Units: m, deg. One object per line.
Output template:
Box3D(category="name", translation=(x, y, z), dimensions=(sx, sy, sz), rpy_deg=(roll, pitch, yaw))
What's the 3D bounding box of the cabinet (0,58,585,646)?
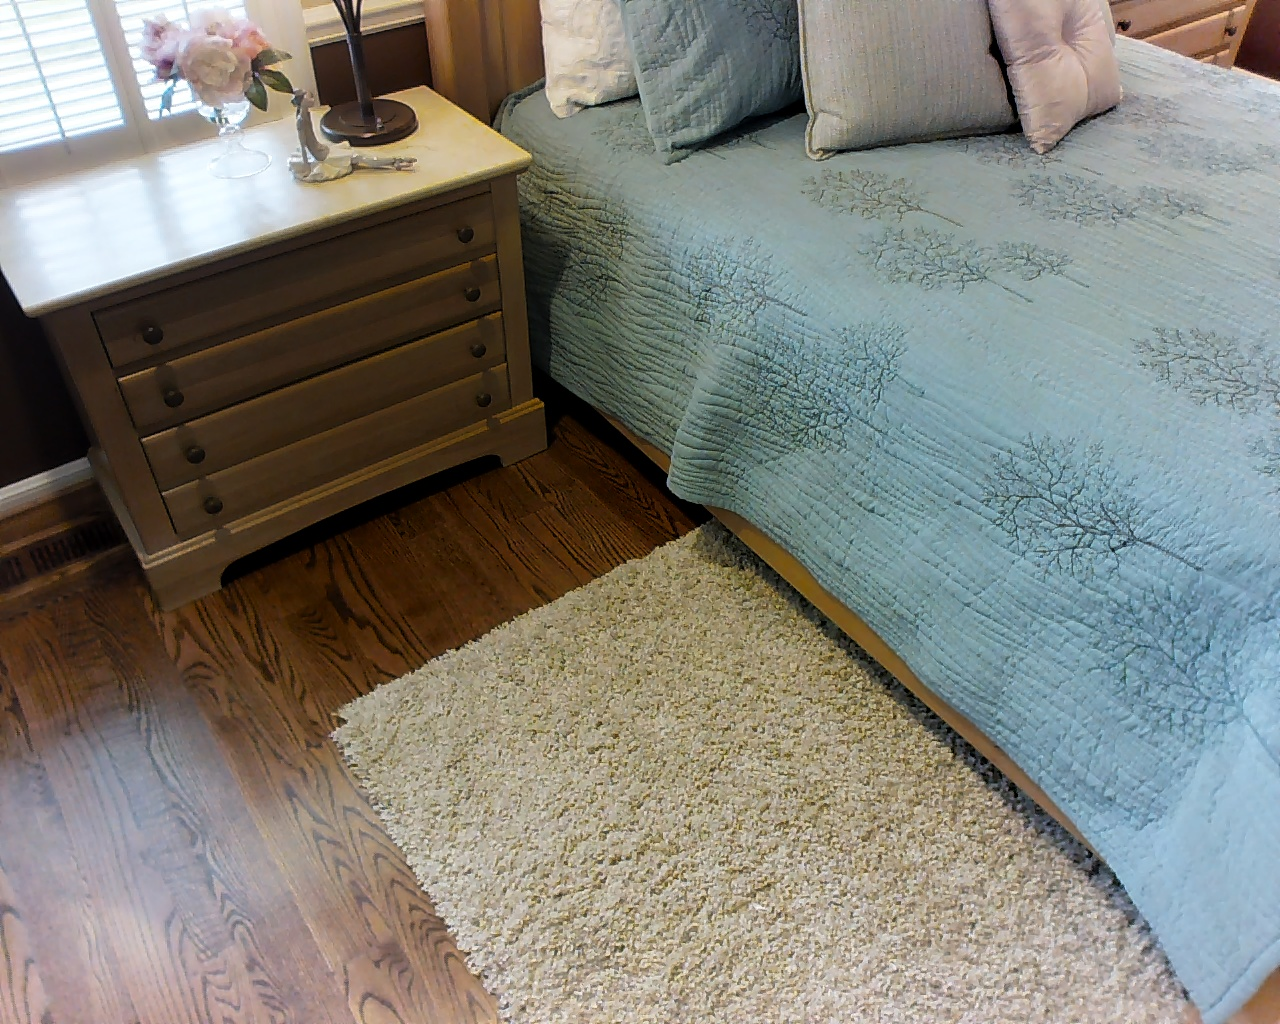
Box3D(category="cabinet", translation=(-0.710, -0.370, 2.250), dimensions=(1.040, 0.760, 0.540), rpy_deg=(-26, 48, -26))
